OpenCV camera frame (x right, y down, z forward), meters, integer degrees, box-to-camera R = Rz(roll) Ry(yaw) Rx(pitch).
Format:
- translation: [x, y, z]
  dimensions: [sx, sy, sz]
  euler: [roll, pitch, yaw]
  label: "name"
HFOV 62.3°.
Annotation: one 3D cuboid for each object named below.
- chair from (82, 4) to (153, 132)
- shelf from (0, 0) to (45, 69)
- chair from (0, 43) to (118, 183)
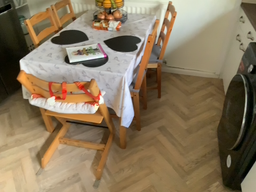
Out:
- translation: [-0.060, -0.210, 1.810]
  dimensions: [0.410, 0.960, 0.410]
  euler: [10, 39, 11]
  label: "chair"
- translation: [-1.540, -1.230, 2.380]
  dimensions: [0.670, 1.840, 0.350]
  euler: [9, 38, 10]
  label: "shelf"
- translation: [-0.390, 0.120, 1.530]
  dimensions: [0.500, 0.780, 0.530]
  euler: [9, 39, 10]
  label: "chair"
